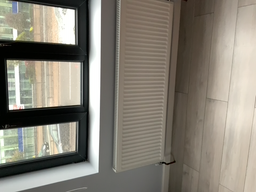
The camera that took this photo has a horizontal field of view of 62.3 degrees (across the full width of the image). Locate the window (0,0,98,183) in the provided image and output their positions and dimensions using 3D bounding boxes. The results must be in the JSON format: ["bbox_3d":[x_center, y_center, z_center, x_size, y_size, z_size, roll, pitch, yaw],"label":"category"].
[{"bbox_3d":[-0.800,-0.080,1.670,0.160,1.110,1.450,17,107,58],"label":"window"}]

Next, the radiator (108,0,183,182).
[{"bbox_3d":[0.140,-0.050,1.750,0.120,0.560,1.440,19,108,58],"label":"radiator"}]
